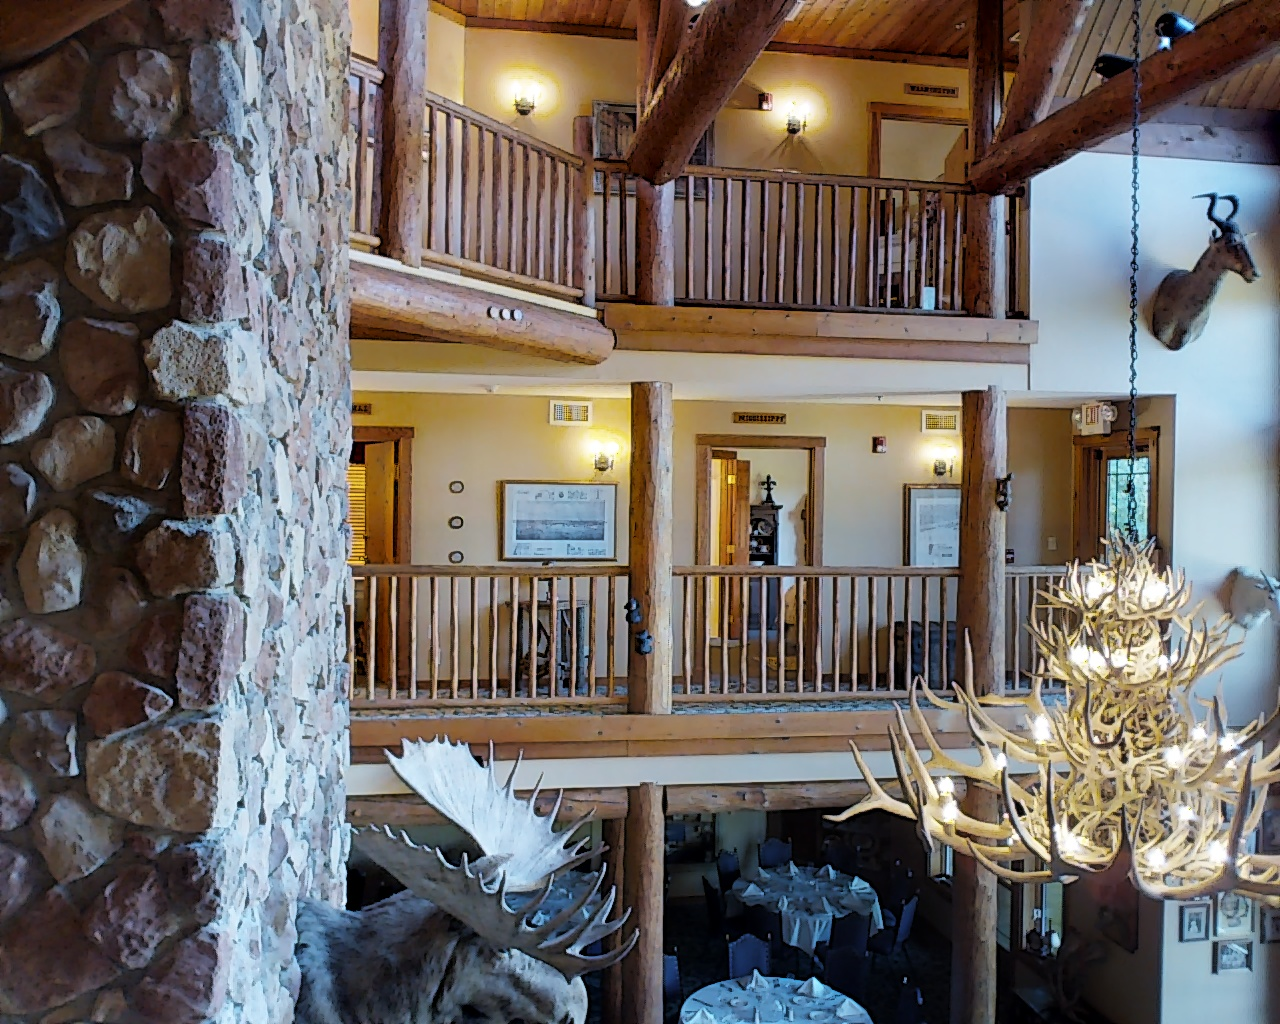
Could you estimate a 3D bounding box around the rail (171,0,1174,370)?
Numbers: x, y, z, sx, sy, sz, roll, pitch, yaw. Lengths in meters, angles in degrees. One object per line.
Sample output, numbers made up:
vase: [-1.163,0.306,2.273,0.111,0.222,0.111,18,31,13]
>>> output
rail: [-0.090,-2.551,8.260,7.558,2.761,0.520,1,1,13]
